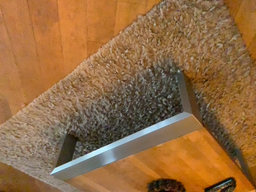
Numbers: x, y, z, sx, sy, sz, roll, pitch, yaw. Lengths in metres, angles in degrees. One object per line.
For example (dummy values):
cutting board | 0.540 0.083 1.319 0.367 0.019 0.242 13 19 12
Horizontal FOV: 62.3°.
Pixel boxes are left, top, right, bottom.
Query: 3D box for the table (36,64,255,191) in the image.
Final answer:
table | 0.130 0.510 1.710 1.260 0.390 1.030 -29 126 27
